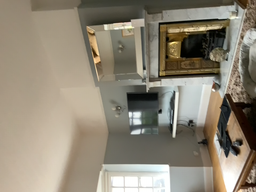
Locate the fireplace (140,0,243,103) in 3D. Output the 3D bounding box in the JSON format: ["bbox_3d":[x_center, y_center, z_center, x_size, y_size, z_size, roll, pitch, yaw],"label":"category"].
[{"bbox_3d":[0.780,-0.650,3.090,0.680,1.140,1.350,-86,-8,-50],"label":"fireplace"}]
